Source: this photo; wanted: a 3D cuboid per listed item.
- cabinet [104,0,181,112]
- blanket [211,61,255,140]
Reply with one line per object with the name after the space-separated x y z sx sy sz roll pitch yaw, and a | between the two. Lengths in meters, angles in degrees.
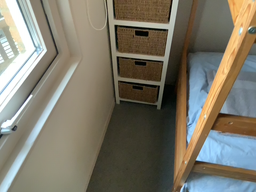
0.100 -0.400 1.400 0.390 1.140 0.340 9 49 8 | cabinet
0.660 0.010 1.150 0.380 0.030 0.510 9 49 8 | blanket
